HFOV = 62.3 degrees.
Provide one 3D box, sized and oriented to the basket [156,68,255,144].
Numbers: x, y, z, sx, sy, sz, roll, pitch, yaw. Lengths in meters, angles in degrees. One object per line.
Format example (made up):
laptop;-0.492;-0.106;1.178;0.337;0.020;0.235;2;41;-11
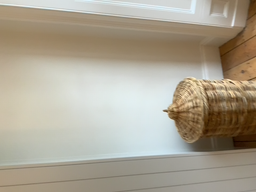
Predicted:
basket;0.690;0.110;1.700;0.510;0.760;0.490;141;129;-72
